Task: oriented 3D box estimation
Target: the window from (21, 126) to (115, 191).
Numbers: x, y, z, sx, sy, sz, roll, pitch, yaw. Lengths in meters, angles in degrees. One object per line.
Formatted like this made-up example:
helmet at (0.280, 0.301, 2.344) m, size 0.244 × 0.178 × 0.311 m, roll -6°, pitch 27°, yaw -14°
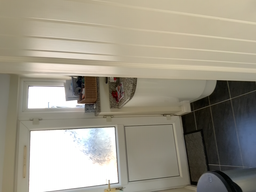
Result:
window at (-0.620, 0.700, 2.280) m, size 0.050 × 0.920 × 0.710 m, roll 133°, pitch 134°, yaw -66°

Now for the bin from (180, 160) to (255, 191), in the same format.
bin at (0.750, 0.560, 1.320) m, size 0.360 × 0.710 × 0.260 m, roll 136°, pitch 132°, yaw -67°
